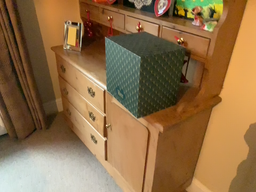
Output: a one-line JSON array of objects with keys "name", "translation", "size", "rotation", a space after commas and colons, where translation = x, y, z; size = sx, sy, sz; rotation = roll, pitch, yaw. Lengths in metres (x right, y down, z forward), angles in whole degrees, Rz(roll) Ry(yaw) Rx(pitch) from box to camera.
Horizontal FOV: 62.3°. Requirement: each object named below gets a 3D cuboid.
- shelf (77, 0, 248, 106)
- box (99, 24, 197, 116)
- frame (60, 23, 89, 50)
[{"name": "shelf", "translation": [0.050, -0.670, 1.150], "size": [0.170, 1.030, 1.180], "rotation": [-21, 38, -33]}, {"name": "box", "translation": [0.080, -0.150, 1.020], "size": [0.310, 0.280, 0.310], "rotation": [-22, 39, -33]}, {"name": "frame", "translation": [-0.400, -0.450, 1.590], "size": [0.160, 0.150, 0.110], "rotation": [13, 34, 18]}]
